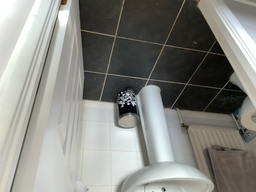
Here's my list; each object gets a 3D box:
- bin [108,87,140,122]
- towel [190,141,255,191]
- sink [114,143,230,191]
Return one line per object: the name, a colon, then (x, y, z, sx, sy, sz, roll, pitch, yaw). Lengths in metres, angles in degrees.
bin: (-0.040, 0.070, 1.780, 0.220, 0.210, 0.180, 5, 140, -13)
towel: (0.840, 0.610, 1.640, 0.590, 0.480, 0.150, 4, 140, -12)
sink: (0.240, 0.500, 1.360, 0.580, 0.180, 0.440, 6, 139, -14)
